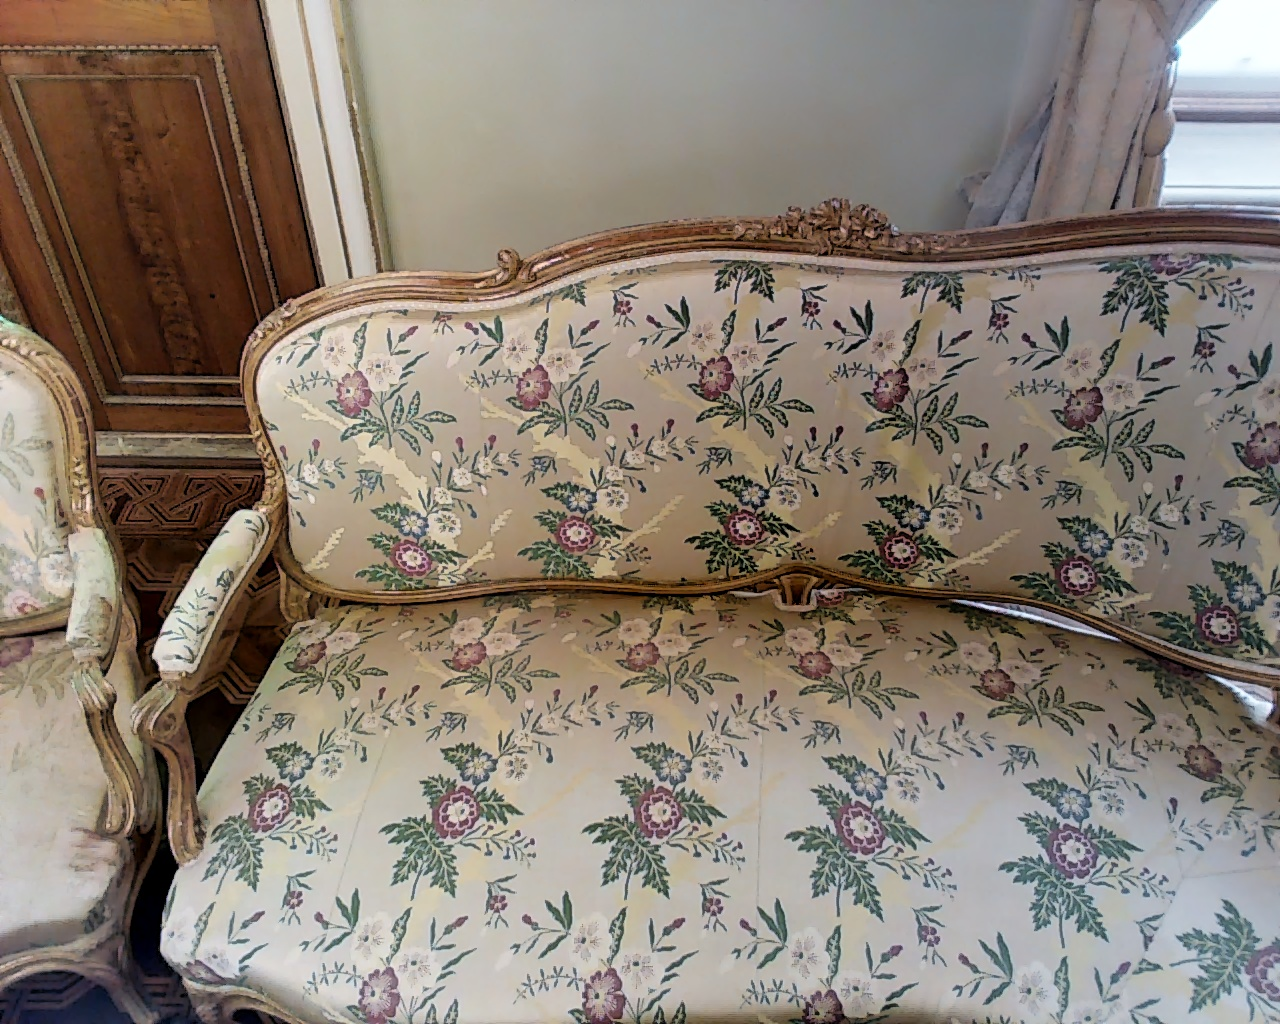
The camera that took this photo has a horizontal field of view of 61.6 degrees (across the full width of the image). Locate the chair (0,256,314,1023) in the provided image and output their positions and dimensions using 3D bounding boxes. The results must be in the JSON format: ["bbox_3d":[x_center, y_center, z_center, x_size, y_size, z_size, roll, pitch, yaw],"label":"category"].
[{"bbox_3d":[-1.030,0.270,1.570,0.700,1.000,0.790,1,41,2],"label":"chair"}]
